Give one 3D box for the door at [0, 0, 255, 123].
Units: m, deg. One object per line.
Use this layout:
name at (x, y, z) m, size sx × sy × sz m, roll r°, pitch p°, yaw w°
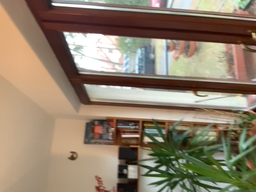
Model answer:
door at (0.650, -0.310, 1.190) m, size 3.370 × 2.360 × 0.220 m, roll 102°, pitch 171°, yaw -72°
